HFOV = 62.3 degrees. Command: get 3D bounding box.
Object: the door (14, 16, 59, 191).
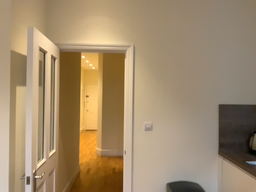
[{"bbox_3d":[-0.780,0.480,1.890,0.060,2.070,0.850,1,0,-3],"label":"door"}]
